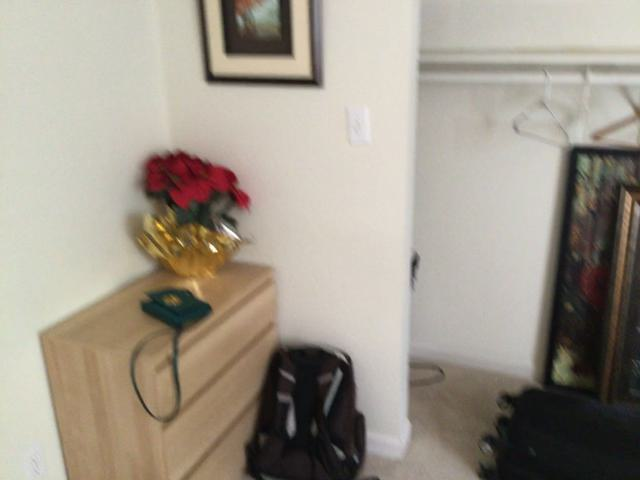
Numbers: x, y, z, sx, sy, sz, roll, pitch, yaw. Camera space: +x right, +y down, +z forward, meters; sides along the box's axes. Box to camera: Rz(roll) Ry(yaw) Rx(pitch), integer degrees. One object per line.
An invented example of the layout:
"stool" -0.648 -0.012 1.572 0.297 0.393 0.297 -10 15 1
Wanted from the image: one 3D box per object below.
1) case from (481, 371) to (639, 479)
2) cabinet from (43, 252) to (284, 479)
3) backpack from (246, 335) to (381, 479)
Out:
"case" 0.860 0.700 1.930 0.590 0.280 0.390 7 14 17
"cabinet" -0.470 0.510 1.960 0.450 0.750 0.690 7 14 18
"backpack" -0.020 0.620 2.060 0.390 0.420 0.290 7 14 17
